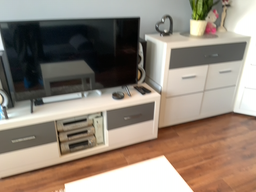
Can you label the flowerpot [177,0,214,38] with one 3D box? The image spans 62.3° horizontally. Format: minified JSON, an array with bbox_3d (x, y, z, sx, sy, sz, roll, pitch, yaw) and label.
[{"bbox_3d":[0.690,-0.850,2.170,0.230,0.460,0.210,-9,27,-20],"label":"flowerpot"}]
